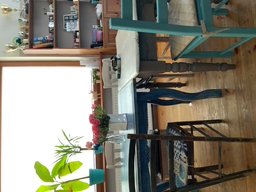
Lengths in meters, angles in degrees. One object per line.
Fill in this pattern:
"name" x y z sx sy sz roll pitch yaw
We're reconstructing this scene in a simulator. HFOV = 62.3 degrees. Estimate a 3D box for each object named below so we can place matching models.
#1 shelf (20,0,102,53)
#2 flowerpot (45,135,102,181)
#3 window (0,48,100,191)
"shelf" -1.000 -1.160 3.280 0.370 1.140 0.900 151 117 -78
"flowerpot" -0.840 0.950 3.320 0.150 0.830 0.620 142 125 -77
"window" -1.240 0.460 3.320 0.160 1.500 2.480 137 131 -76
